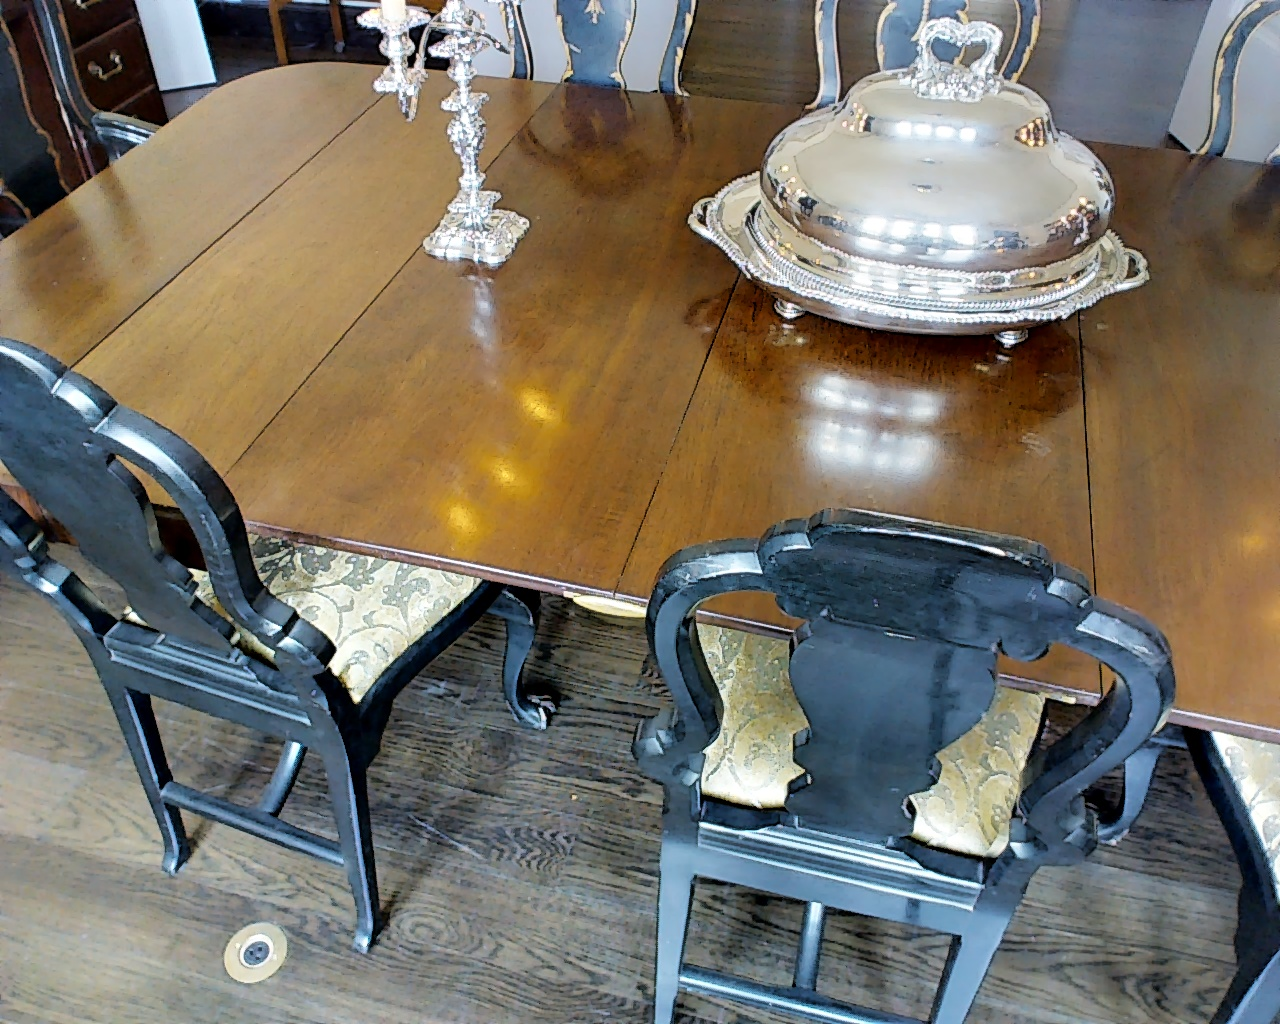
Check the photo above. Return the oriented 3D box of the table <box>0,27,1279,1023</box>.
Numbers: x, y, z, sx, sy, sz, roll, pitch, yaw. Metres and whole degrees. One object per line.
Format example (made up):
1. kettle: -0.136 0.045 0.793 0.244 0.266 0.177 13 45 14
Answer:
1. table: 0.350 -0.050 1.770 2.920 0.740 1.380 10 43 10

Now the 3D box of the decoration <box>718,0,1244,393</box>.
1. decoration: 0.400 -0.440 1.410 0.530 0.320 0.430 7 43 7
